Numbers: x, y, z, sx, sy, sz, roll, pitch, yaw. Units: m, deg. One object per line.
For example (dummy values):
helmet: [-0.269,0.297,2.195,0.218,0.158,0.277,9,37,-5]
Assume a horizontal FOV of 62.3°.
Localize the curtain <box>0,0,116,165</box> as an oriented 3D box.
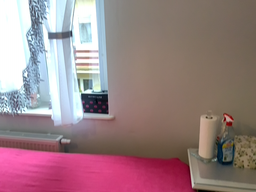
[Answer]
curtain: [-0.940,-0.520,1.610,1.610,2.000,0.320,2,16,10]
